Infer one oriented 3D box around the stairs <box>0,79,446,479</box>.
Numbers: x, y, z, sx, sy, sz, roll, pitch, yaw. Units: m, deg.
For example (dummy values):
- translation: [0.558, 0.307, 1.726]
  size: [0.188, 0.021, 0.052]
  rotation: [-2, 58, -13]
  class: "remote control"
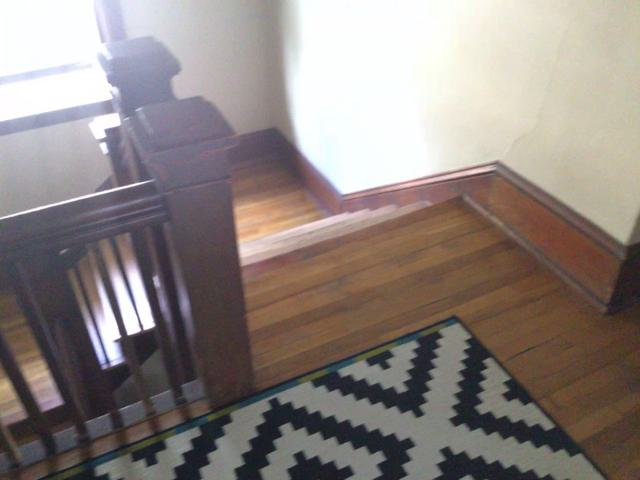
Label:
- translation: [-1.130, 0.460, 3.300]
  size: [2.910, 1.580, 2.100]
  rotation: [-19, 36, -17]
  class: "stairs"
